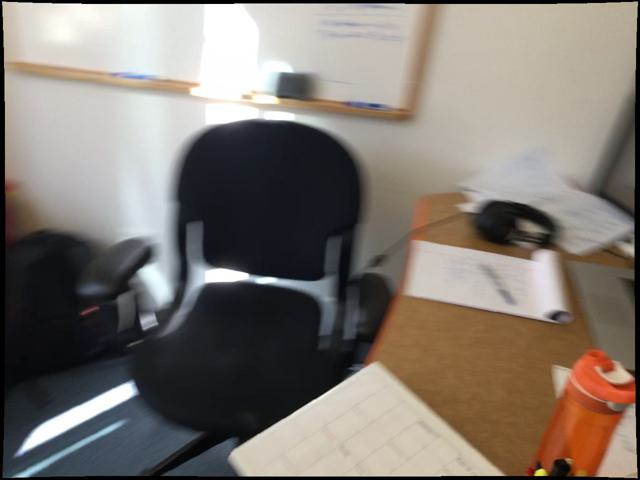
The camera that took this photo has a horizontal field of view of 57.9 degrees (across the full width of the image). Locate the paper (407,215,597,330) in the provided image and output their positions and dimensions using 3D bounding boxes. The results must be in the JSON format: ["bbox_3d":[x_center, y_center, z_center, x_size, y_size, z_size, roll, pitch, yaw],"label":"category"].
[{"bbox_3d":[0.380,0.060,1.260,0.360,0.060,0.250,10,32,6],"label":"paper"}]

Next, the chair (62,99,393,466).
[{"bbox_3d":[-0.160,0.060,1.380,0.539,0.550,0.590,10,32,6],"label":"chair"}]

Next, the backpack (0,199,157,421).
[{"bbox_3d":[-0.849,0.200,1.840,0.460,0.420,0.480,10,32,6],"label":"backpack"}]
